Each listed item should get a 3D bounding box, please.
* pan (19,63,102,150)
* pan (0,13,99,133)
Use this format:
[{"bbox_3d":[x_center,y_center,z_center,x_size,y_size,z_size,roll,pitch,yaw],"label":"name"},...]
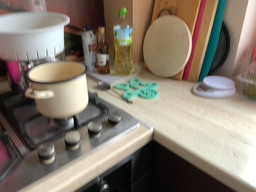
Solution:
[{"bbox_3d":[-0.180,0.020,0.600,0.170,0.170,0.110,-23,35,-37],"label":"pan"},{"bbox_3d":[-0.300,-0.110,0.730,0.260,0.290,0.290,-22,35,-36],"label":"pan"}]
